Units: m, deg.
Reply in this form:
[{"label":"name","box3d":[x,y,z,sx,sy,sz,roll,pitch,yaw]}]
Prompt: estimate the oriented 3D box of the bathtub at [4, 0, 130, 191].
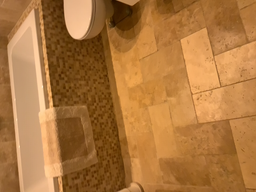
[{"label":"bathtub","box3d":[-0.670,0.150,2.140,0.920,0.650,1.940,-18,79,44]}]
